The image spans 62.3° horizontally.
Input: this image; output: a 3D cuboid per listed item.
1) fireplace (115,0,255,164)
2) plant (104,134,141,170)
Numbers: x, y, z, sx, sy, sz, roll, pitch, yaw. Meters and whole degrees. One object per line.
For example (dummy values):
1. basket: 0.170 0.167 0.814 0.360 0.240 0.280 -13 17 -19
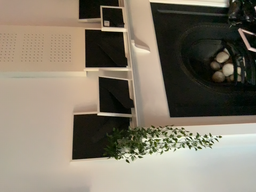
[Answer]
1. fireplace: 0.600 -0.330 1.680 0.690 1.250 1.510 111 156 -64
2. plant: -0.040 0.320 1.200 0.200 0.170 0.150 110 157 -62
